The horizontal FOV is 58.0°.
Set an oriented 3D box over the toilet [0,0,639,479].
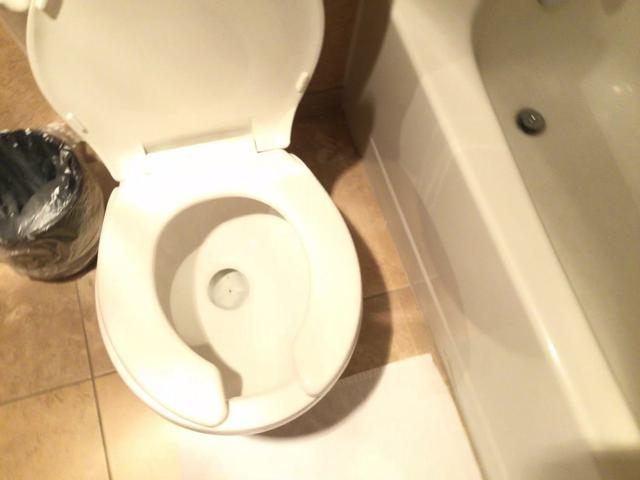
[{"bbox_3d":[-0.130,-0.070,0.810,0.500,0.710,0.700,-15,70,-11],"label":"toilet"}]
